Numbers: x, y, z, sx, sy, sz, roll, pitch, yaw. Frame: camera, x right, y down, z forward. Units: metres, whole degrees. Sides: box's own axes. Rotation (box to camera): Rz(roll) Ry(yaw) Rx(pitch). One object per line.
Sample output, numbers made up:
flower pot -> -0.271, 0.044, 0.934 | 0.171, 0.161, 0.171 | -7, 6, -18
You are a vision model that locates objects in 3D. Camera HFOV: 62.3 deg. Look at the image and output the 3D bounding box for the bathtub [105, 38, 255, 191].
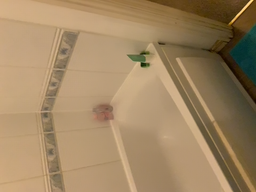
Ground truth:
bathtub -> 0.490, 0.560, 1.120 | 0.710, 0.560, 1.650 | -54, 48, 42
